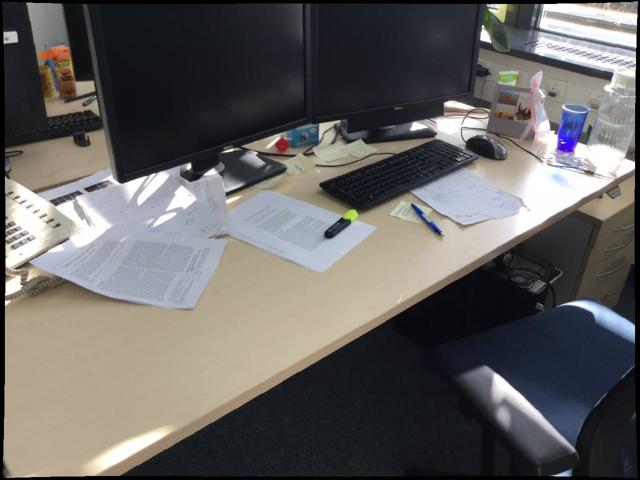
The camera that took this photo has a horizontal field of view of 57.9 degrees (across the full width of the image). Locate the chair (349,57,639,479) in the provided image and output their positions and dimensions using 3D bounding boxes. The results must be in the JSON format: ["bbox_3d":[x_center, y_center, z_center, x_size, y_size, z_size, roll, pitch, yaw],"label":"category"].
[{"bbox_3d":[0.529,0.280,1.150,0.699,1.061,0.660,-10,34,-17],"label":"chair"}]

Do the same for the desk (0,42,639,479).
[{"bbox_3d":[0.010,0.120,1.550,2.089,0.781,0.880,-25,41,-34],"label":"desk"}]
